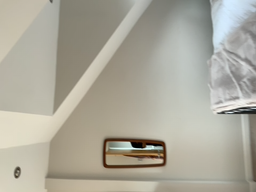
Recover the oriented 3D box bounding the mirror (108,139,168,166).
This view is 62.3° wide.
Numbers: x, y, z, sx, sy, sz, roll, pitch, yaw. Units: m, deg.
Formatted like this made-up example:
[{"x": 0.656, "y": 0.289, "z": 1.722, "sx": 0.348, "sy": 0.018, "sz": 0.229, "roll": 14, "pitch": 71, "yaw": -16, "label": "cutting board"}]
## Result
[{"x": 0.120, "y": 0.710, "z": 2.670, "sx": 0.070, "sy": 0.740, "sz": 0.310, "roll": 73, "pitch": -162, "yaw": -80, "label": "mirror"}]
